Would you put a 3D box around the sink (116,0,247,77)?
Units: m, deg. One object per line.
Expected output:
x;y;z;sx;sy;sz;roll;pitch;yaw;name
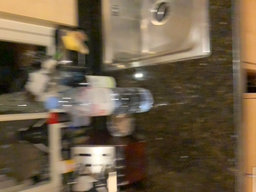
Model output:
0.190;-0.340;0.850;0.440;0.260;0.490;1;91;50;sink
